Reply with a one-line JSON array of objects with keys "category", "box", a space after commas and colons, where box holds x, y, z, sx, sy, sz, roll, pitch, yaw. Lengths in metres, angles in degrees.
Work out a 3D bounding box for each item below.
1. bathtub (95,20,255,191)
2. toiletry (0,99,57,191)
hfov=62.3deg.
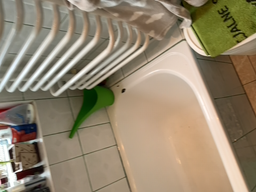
[{"category": "bathtub", "box": [0.420, 0.520, 1.230, 0.680, 0.480, 1.660, -29, 74, 41]}, {"category": "toiletry", "box": [-0.540, 0.290, 1.040, 0.130, 0.230, 0.520, -31, 73, 41]}]
